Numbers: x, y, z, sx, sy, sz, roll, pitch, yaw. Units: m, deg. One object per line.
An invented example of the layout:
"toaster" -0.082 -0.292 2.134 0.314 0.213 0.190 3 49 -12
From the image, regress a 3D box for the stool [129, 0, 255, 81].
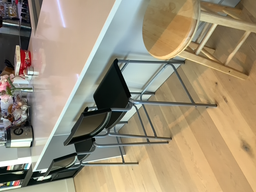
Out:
"stool" 0.390 -0.320 1.090 0.310 0.630 0.320 -50 50 42
